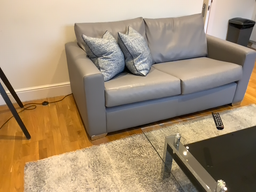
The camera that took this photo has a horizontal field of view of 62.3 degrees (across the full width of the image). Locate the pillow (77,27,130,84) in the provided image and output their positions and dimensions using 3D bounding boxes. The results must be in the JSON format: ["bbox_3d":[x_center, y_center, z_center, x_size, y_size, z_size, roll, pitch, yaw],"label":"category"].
[{"bbox_3d":[-0.200,-0.350,1.880,0.200,0.440,0.410,7,13,44],"label":"pillow"}]

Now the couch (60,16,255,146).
[{"bbox_3d":[0.280,-0.310,2.260,1.730,0.820,0.980,-11,31,-19],"label":"couch"}]
